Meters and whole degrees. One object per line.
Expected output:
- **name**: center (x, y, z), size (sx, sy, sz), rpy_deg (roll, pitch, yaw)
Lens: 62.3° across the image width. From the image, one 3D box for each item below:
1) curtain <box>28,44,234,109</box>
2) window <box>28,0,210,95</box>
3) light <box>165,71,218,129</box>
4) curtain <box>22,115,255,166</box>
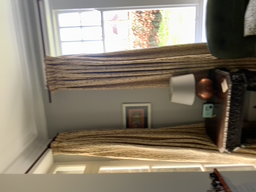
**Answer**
- **curtain**: center (0.040, -0.230, 2.450), size (0.270, 2.190, 0.650), rpy_deg (-92, 0, -78)
- **window**: center (-0.100, -1.060, 2.450), size (0.340, 1.950, 2.020), rpy_deg (-86, -5, -77)
- **light**: center (0.680, 0.030, 2.380), size (0.430, 0.440, 0.510), rpy_deg (-89, -3, -69)
- **curtain**: center (0.200, 0.530, 2.590), size (0.450, 2.750, 0.390), rpy_deg (-86, -6, -78)
